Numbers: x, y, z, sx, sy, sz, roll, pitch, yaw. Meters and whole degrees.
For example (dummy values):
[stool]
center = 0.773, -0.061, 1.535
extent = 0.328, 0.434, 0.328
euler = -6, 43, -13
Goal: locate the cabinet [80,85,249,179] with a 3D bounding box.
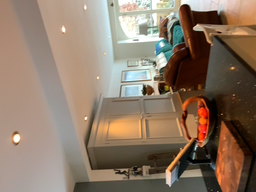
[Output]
[cabinet]
center = 0.480, 0.520, 3.440
extent = 1.290, 2.140, 0.710
euler = -89, -5, -56
